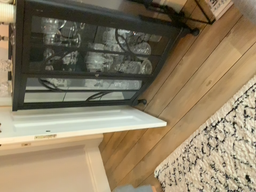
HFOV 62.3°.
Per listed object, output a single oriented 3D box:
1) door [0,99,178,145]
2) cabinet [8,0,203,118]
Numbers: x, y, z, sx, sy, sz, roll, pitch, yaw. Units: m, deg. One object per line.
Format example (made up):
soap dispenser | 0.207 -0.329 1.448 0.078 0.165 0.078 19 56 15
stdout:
door | -0.700 0.160 1.670 0.860 2.170 0.030 23 110 56
cabinet | -0.210 -0.280 1.600 0.900 1.190 0.370 -58 44 41
